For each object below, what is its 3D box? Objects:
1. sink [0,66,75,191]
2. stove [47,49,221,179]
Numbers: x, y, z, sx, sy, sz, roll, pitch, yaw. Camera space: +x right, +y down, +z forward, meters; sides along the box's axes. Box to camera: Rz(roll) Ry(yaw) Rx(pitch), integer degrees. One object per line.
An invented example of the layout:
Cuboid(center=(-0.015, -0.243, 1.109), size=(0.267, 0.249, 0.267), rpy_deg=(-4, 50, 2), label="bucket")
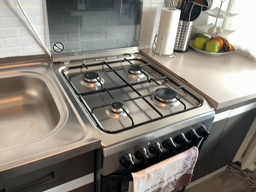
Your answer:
Cuboid(center=(-0.430, 0.080, 0.750), size=(0.340, 0.150, 0.460), rpy_deg=(-13, 38, -28), label="sink")
Cuboid(center=(-0.020, -0.010, 0.970), size=(0.520, 0.150, 0.620), rpy_deg=(-13, 38, -28), label="stove")
